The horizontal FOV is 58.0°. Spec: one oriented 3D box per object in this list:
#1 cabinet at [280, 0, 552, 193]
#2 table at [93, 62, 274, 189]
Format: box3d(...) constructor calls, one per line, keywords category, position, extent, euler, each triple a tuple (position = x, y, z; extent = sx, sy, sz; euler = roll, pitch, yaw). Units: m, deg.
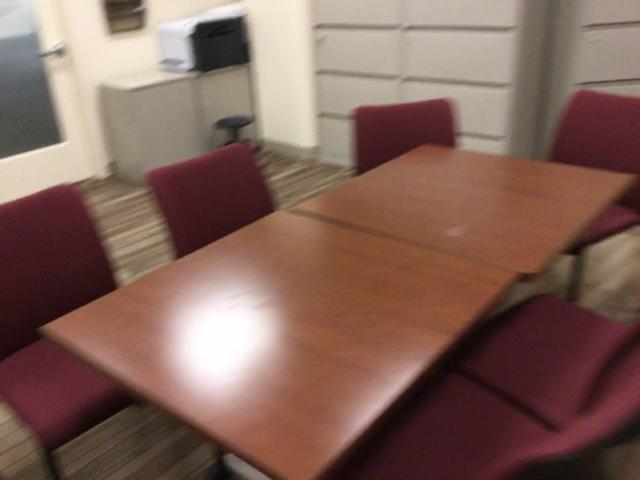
box3d(category="cabinet", position=(0.520, -1.240, 3.710), extent=(0.440, 1.550, 1.770), euler=(-24, 29, -38))
box3d(category="table", position=(-1.020, -0.930, 4.450), extent=(1.020, 0.720, 0.720), euler=(-24, 29, -38))
